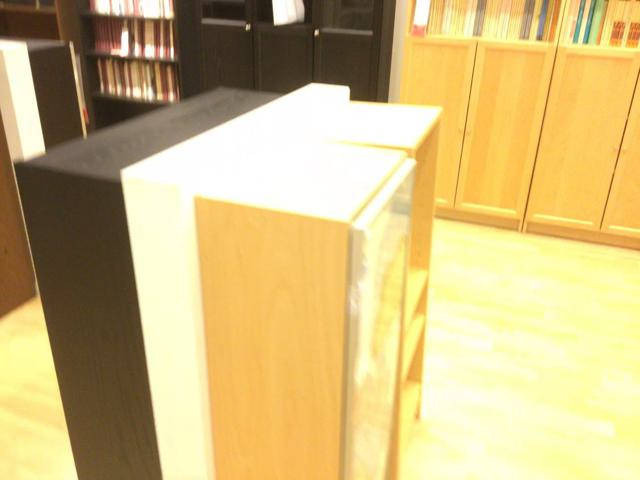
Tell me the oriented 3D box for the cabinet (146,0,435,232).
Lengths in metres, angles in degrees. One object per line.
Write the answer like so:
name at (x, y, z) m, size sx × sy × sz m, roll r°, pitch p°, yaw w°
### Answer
cabinet at (-0.130, -1.400, 3.390) m, size 1.480 × 2.320 × 0.710 m, roll 14°, pitch 21°, yaw 14°

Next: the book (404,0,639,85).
book at (1.180, -1.100, 2.820) m, size 1.420 × 0.390 × 0.440 m, roll 14°, pitch 41°, yaw 14°

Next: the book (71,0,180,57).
book at (-1.270, -1.400, 3.790) m, size 0.700 × 0.260 × 0.110 m, roll 14°, pitch 41°, yaw 14°

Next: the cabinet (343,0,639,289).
cabinet at (1.130, -1.100, 2.950) m, size 1.590 × 2.290 × 0.710 m, roll 14°, pitch 26°, yaw 14°

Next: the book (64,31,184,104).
book at (-1.320, -1.170, 3.910) m, size 0.750 × 0.310 × 0.190 m, roll 14°, pitch 41°, yaw 14°

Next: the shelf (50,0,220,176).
shelf at (-1.210, -1.540, 3.830) m, size 0.890 × 1.990 × 0.590 m, roll 14°, pitch 25°, yaw 14°

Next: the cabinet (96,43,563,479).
cabinet at (0.010, 0.250, 1.460) m, size 0.570 × 1.080 × 0.950 m, roll 29°, pitch 40°, yaw 6°
